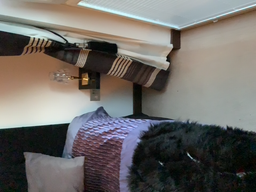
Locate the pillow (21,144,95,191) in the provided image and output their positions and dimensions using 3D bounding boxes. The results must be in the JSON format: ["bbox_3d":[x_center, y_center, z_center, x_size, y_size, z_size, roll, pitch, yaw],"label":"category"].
[{"bbox_3d":[-0.450,0.570,1.280,0.080,0.380,0.430,20,-90,-67],"label":"pillow"}]
